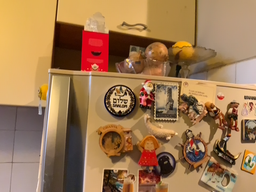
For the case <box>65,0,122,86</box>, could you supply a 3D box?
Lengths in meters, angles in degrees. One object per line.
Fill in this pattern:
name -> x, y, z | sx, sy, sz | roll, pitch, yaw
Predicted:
case -> -0.130, -0.170, 0.760 | 0.160, 0.240, 0.170 | 5, -5, -18
